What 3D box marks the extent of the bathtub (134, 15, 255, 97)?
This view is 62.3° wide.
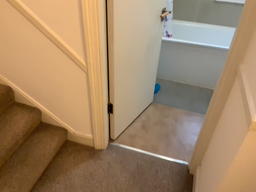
[{"bbox_3d":[1.030,-0.530,2.710,1.740,0.560,0.690,12,38,10],"label":"bathtub"}]
